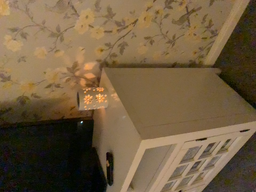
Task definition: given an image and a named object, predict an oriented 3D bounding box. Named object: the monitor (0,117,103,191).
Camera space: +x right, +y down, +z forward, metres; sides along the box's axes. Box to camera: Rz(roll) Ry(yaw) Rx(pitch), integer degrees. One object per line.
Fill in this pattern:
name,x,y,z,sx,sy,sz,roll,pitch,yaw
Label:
monitor,-0.480,0.540,0.990,0.050,0.660,0.920,-135,48,-55
